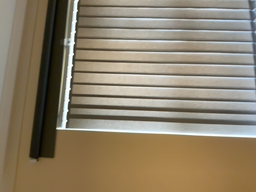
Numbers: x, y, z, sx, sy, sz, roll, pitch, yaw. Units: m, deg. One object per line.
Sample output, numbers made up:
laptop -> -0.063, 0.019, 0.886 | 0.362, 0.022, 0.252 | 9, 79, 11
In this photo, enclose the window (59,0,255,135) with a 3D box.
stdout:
window -> 0.250, -0.270, 1.340 | 0.020, 1.290, 0.970 | 79, -166, -80
